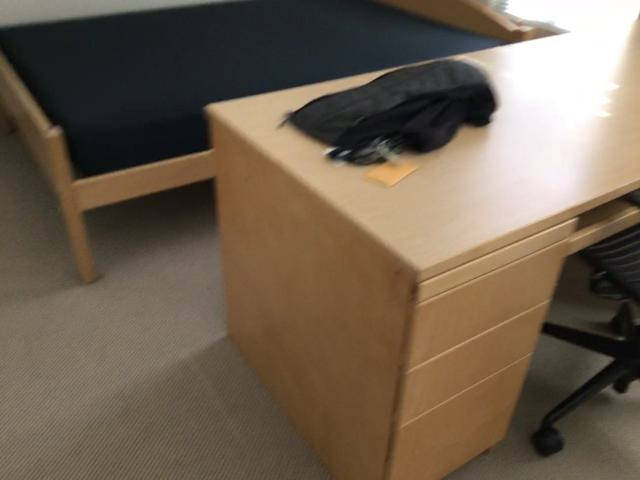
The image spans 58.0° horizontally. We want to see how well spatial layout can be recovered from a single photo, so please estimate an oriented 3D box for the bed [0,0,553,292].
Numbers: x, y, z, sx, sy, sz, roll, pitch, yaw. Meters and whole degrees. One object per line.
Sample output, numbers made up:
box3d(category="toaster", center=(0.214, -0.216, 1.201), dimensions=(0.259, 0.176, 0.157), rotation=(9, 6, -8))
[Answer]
box3d(category="bed", center=(-0.290, -0.760, 2.720), dimensions=(2.190, 0.710, 1.420), rotation=(-18, 38, -28))
